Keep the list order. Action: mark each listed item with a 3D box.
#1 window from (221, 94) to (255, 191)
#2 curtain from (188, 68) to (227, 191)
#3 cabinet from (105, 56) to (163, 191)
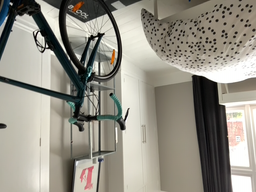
[{"bbox_3d":[2.510,0.900,3.350,1.760,1.950,0.100,-7,171,36],"label":"window"},{"bbox_3d":[1.420,0.690,3.820,0.480,2.350,0.130,-7,171,36],"label":"curtain"},{"bbox_3d":[0.190,0.970,3.890,0.260,3.030,1.650,-6,172,28],"label":"cabinet"}]
